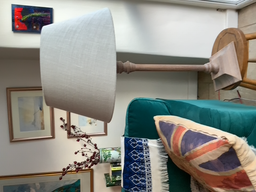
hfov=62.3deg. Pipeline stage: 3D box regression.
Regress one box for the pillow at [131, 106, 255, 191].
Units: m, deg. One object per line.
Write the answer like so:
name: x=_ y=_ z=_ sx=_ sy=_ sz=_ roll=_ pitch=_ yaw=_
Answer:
pillow: x=0.370 y=0.300 z=1.060 sx=0.220 sy=0.480 sz=0.560 roll=53 pitch=160 yaw=-16
